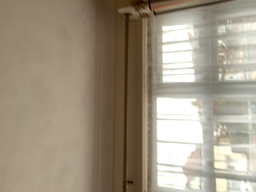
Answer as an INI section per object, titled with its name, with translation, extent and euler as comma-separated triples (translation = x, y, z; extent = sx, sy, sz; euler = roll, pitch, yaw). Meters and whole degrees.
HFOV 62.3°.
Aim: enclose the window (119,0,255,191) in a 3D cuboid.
[window]
translation = 0.740, 0.610, 1.340
extent = 0.090, 1.680, 2.750
euler = 12, -103, -70
